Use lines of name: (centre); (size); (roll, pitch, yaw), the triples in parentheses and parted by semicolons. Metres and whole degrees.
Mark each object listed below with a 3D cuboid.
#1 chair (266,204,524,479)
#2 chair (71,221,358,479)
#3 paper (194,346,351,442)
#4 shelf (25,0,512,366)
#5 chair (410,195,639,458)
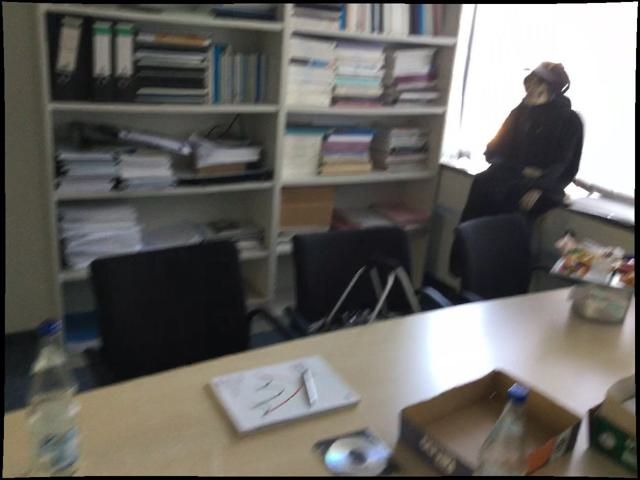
chair: (0.190, 0.370, 1.930); (0.530, 0.791, 0.600); (-7, 24, -26)
chair: (-0.330, 0.440, 1.670); (0.600, 0.781, 0.590); (-7, 24, -26)
paper: (-0.110, 0.330, 1.290); (0.280, 0.020, 0.230); (-8, 24, -27)
shelf: (-0.150, -0.681, 2.800); (2.188, 2.172, 0.500); (-8, 24, -27)
chair: (0.739, 0.280, 2.170); (0.480, 0.731, 0.550); (-8, 24, -27)
